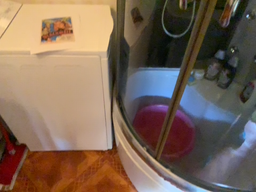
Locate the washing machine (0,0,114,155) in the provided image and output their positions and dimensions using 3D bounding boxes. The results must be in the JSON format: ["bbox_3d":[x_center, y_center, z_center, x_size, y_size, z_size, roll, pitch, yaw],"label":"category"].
[{"bbox_3d":[-0.440,-0.090,1.270,0.670,0.890,0.480,3,47,-1],"label":"washing machine"}]
